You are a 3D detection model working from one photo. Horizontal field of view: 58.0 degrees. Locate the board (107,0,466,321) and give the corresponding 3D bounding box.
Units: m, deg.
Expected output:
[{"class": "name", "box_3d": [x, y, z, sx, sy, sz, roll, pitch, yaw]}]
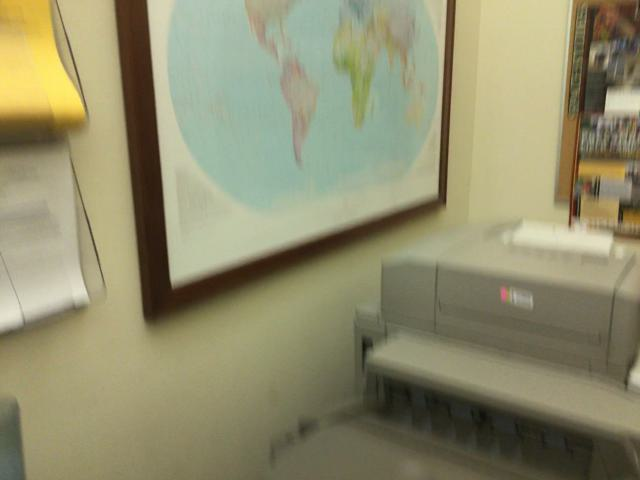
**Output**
[{"class": "board", "box_3d": [0.080, -0.460, 1.690, 0.070, 0.960, 1.520, 9, 18, 35]}]
